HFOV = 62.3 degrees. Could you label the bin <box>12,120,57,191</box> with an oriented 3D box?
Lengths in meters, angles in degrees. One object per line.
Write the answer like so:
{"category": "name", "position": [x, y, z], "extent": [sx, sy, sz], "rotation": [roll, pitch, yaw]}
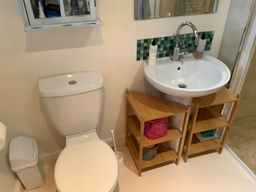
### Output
{"category": "bin", "position": [-0.670, 0.440, 1.560], "extent": [0.190, 0.430, 0.250], "rotation": [-10, 36, -15]}

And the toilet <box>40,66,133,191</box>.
{"category": "toilet", "position": [-0.270, 0.310, 1.390], "extent": [0.390, 0.770, 0.610], "rotation": [-12, 36, -17]}

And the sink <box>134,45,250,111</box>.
{"category": "sink", "position": [0.420, -0.160, 1.500], "extent": [0.630, 0.170, 0.440], "rotation": [-12, 36, -17]}
